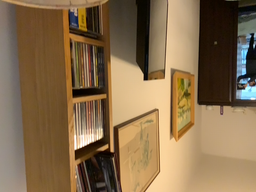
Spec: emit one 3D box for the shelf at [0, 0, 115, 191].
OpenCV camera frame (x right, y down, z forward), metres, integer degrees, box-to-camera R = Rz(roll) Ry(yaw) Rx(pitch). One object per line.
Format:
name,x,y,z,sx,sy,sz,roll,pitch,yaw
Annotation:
shelf,-0.200,-0.660,0.590,0.240,2.030,0.240,3,-175,27

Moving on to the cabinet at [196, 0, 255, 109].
cabinet,2.000,-0.870,3.430,1.570,2.080,0.670,3,-175,26

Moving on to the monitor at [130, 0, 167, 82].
monitor,0.140,-0.370,1.060,0.060,0.590,0.920,0,-176,13
